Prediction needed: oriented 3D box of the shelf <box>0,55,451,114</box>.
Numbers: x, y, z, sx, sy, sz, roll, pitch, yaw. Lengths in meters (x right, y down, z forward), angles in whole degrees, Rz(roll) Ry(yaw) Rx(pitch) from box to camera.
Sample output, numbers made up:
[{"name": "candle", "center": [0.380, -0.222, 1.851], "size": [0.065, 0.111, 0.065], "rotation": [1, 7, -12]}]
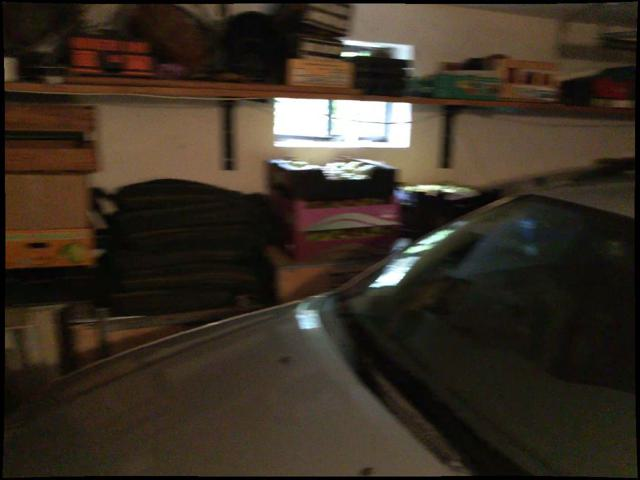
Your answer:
[{"name": "shelf", "center": [-0.699, -0.641, 2.380], "size": [2.638, 0.170, 0.370], "rotation": [-4, 17, -21]}]
